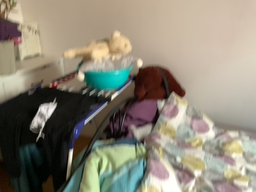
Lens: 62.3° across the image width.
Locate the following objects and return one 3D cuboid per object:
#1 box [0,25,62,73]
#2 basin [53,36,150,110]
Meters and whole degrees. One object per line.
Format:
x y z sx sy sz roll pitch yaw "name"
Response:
-1.000 -0.450 1.880 0.460 0.280 0.660 10 24 20 "box"
-0.160 -0.200 1.530 0.520 0.370 0.440 9 24 19 "basin"
